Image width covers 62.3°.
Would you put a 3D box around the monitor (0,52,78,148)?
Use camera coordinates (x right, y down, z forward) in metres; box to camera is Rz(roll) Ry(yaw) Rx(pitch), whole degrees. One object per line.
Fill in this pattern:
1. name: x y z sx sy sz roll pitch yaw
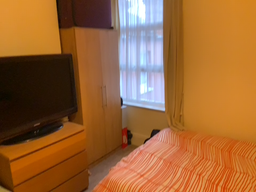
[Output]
1. monitor: -0.950 -0.010 2.020 0.100 0.760 1.140 7 16 30
